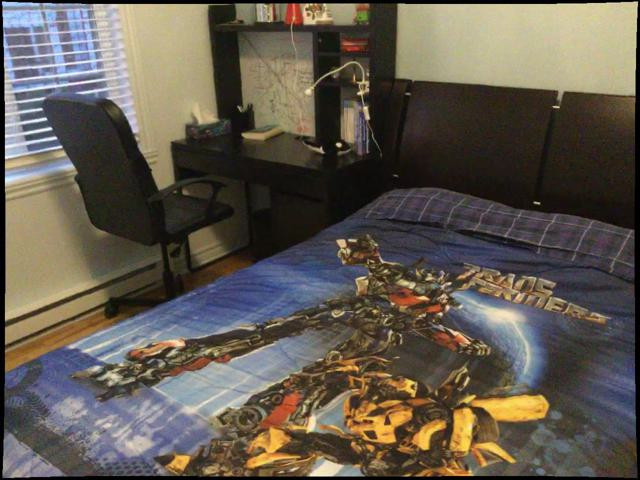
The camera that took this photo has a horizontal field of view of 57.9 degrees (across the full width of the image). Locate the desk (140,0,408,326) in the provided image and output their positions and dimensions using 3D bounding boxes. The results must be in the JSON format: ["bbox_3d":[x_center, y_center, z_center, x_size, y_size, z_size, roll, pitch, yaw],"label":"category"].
[{"bbox_3d":[-0.210,-0.450,2.830,1.099,1.341,0.570,17,30,36],"label":"desk"}]
